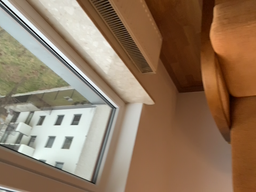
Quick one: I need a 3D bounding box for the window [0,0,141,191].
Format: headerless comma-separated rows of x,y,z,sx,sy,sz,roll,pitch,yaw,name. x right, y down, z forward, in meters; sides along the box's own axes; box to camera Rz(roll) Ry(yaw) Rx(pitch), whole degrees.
-0.590,0.490,0.770,0.430,2.060,1.300,-3,147,29,window
